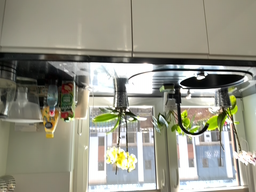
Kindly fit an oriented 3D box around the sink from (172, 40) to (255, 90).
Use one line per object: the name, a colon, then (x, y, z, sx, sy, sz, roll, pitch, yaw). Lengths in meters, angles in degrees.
sink: (0.610, -0.190, 1.450, 0.500, 0.220, 0.340, 1, 168, -9)
